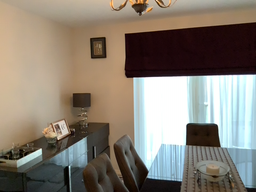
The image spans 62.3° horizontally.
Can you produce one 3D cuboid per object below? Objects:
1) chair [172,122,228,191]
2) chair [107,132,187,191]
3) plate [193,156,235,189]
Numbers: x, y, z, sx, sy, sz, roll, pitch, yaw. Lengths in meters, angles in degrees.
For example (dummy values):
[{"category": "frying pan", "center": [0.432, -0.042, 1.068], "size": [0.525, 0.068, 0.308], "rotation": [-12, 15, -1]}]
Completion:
[{"category": "chair", "center": [0.770, 0.820, 2.300], "size": [0.490, 0.940, 0.580], "rotation": [1, 5, 20]}, {"category": "chair", "center": [0.200, 0.860, 1.880], "size": [0.620, 0.940, 0.470], "rotation": [1, 5, 16]}, {"category": "plate", "center": [0.600, 0.540, 1.520], "size": [0.240, 0.110, 0.250], "rotation": [0, 5, 12]}]
